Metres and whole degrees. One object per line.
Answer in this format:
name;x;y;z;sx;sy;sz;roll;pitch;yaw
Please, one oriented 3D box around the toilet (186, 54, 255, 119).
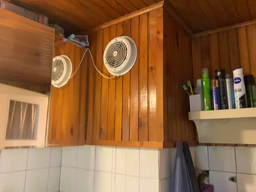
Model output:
toilet;0.520;-0.030;1.130;0.350;0.280;0.210;-5;-12;33
